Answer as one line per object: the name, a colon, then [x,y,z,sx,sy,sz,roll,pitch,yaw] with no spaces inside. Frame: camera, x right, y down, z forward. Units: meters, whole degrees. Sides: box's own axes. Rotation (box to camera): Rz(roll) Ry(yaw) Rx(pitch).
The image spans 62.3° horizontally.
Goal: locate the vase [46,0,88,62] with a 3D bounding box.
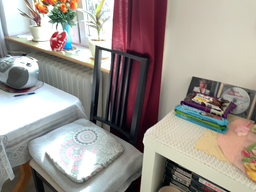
vase: [-0.470,-0.550,1.660,0.190,0.490,0.210,24,34,34]
